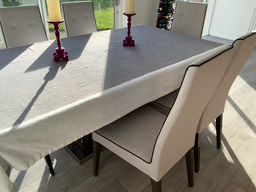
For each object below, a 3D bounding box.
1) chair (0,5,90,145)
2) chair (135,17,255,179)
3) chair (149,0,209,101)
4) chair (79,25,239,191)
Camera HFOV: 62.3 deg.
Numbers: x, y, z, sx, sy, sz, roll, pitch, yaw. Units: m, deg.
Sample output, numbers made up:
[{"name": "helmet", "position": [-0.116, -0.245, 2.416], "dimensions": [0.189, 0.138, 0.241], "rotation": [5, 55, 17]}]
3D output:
[{"name": "chair", "position": [-0.750, -0.210, 1.890], "dimensions": [0.590, 1.020, 0.500], "rotation": [25, 37, 32]}, {"name": "chair", "position": [0.490, -0.020, 1.680], "dimensions": [0.590, 1.020, 0.540], "rotation": [28, 39, 36]}, {"name": "chair", "position": [0.620, -0.590, 2.620], "dimensions": [0.430, 1.050, 0.630], "rotation": [15, 32, 19]}, {"name": "chair", "position": [0.130, 0.170, 1.330], "dimensions": [0.610, 1.020, 0.530], "rotation": [28, 39, 36]}]
